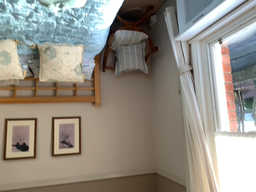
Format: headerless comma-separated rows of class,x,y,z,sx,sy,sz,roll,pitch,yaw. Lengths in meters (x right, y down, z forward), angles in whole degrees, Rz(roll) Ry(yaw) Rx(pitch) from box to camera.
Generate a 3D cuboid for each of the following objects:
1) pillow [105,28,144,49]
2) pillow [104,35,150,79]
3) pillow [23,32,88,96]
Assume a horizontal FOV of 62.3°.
pillow,-0.060,-0.710,2.680,0.450,0.100,0.420,-1,173,-8
pillow,-0.020,-0.510,2.780,0.480,0.430,0.130,-19,173,-11
pillow,-0.720,-0.330,2.140,0.420,0.460,0.230,-32,172,-27
